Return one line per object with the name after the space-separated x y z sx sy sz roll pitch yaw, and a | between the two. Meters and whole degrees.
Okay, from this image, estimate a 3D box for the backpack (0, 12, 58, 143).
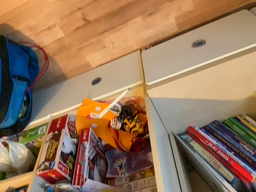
-0.600 -0.050 0.910 0.350 0.310 0.400 -19 129 14 | backpack
